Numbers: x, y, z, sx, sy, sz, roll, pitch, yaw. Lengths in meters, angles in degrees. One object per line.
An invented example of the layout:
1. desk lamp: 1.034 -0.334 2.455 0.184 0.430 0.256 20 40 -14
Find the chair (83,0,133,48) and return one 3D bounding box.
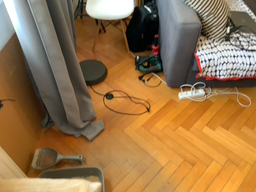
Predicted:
1. chair: -0.190 -0.970 2.190 0.450 0.780 0.500 -1 48 -1
